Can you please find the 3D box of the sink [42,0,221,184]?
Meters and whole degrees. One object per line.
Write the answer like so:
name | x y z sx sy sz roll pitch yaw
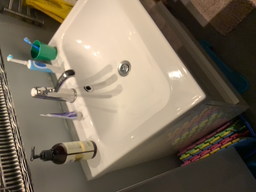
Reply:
sink | -0.070 -0.090 0.790 0.480 0.120 0.630 -42 62 28
